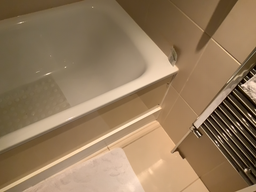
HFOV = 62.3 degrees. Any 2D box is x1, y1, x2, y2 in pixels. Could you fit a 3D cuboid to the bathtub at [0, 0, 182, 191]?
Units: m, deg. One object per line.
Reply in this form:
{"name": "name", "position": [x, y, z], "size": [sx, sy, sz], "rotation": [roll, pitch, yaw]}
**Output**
{"name": "bathtub", "position": [-0.660, 0.040, 1.160], "size": [1.670, 0.550, 0.750], "rotation": [-23, 63, -22]}
